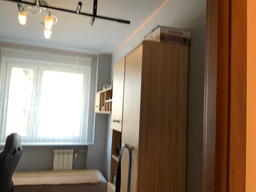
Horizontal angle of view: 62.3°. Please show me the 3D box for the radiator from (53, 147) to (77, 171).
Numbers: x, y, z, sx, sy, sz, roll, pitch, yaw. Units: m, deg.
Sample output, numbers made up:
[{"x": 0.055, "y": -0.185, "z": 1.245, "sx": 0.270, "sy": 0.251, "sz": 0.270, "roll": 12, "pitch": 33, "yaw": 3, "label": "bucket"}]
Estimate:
[{"x": -1.120, "y": 1.120, "z": 3.800, "sx": 0.380, "sy": 0.390, "sz": 0.120, "roll": 4, "pitch": -4, "yaw": -16, "label": "radiator"}]
